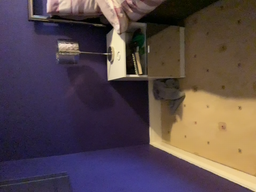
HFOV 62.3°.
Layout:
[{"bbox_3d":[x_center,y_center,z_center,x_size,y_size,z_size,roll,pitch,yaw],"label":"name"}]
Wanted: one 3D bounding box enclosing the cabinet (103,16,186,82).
[{"bbox_3d":[0.120,-0.350,1.760,0.420,0.540,0.430,180,87,-68],"label":"cabinet"}]
